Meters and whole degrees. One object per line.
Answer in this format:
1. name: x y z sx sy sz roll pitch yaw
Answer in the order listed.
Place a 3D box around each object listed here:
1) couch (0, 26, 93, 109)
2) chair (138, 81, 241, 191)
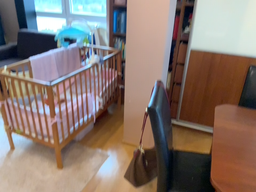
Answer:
1. couch: -1.440 -0.530 3.330 1.480 0.850 0.870 13 28 19
2. chair: 0.330 0.450 1.380 0.430 0.960 0.410 10 27 13
